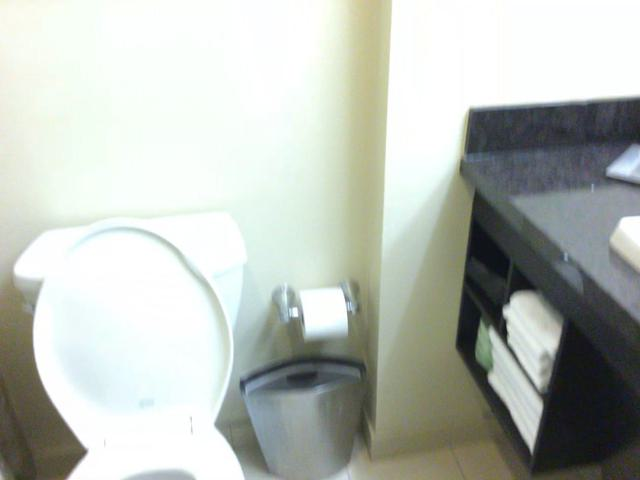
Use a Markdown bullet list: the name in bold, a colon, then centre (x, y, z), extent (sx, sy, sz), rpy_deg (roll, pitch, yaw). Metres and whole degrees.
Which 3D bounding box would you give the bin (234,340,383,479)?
- **bin**: centre (-0.030, 0.470, 1.530), extent (0.350, 0.320, 0.170), rpy_deg (-7, 30, -8)
